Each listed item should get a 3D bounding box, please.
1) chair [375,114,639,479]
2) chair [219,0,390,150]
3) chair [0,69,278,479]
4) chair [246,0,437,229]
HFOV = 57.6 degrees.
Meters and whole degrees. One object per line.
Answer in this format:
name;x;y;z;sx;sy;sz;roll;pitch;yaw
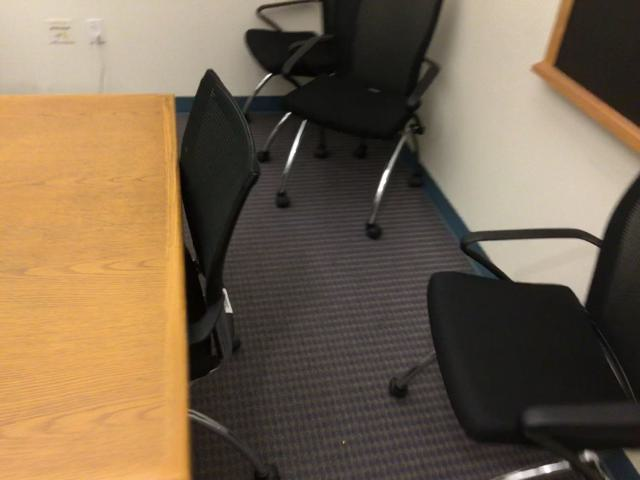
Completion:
chair;0.530;0.250;1.360;0.600;0.840;0.660;1;36;-6
chair;-0.110;-0.990;2.760;0.660;0.930;0.570;-5;37;-15
chair;-0.370;0.150;1.330;0.420;0.920;0.500;-5;37;-15
chair;0.090;-0.650;2.360;0.550;0.910;0.630;16;37;13
